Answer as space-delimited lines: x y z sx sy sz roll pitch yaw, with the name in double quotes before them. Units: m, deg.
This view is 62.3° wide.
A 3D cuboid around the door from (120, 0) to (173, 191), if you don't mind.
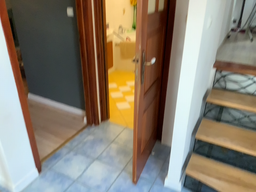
"door" 0.160 -0.180 1.760 0.100 1.990 0.760 13 29 23
